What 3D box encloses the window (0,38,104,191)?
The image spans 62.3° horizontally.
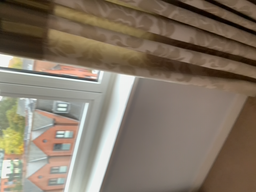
[{"bbox_3d":[-0.880,0.220,1.290,0.110,1.230,1.160,51,128,53],"label":"window"}]
